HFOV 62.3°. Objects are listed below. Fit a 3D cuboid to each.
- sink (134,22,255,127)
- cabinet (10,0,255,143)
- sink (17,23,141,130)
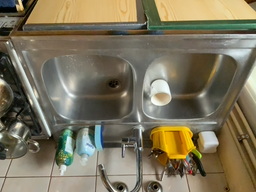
[{"bbox_3d":[0.230,-0.070,0.900,0.380,0.170,0.430,-1,136,-2],"label":"sink"},{"bbox_3d":[0.050,-0.290,1.140,0.830,0.850,0.600,-1,136,-2],"label":"cabinet"},{"bbox_3d":[-0.160,-0.060,0.890,0.390,0.180,0.430,-1,136,-2],"label":"sink"}]
